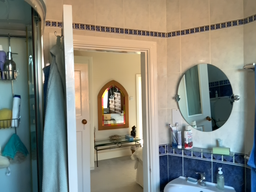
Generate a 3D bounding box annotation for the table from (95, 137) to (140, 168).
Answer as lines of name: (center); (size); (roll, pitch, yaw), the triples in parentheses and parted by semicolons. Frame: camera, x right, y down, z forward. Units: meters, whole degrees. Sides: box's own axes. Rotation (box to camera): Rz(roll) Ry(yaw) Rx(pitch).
table: (-0.240, 1.320, 5.100); (1.050, 0.470, 0.370); (-2, 2, -35)
